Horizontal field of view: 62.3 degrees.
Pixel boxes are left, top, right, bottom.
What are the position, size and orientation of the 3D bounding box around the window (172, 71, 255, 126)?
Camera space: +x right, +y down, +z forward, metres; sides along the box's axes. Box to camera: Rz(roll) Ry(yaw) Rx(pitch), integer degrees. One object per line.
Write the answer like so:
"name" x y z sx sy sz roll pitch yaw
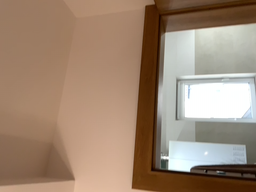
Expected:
"window" 1.520 0.050 3.720 0.330 1.410 0.870 50 -138 -65
